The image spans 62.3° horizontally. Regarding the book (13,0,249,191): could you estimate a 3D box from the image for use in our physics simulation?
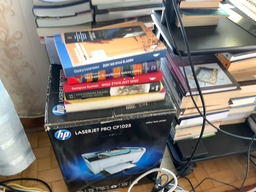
[{"bbox_3d":[-0.090,-0.110,0.650,0.260,0.590,0.670,-11,45,-14],"label":"book"}]
